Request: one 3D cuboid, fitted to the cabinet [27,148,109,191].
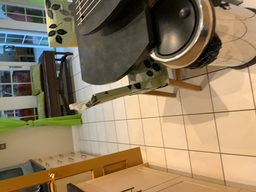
[{"bbox_3d":[-0.960,1.230,3.270,1.090,0.870,0.600,-14,82,55],"label":"cabinet"}]

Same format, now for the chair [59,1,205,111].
[{"bbox_3d":[0.050,-0.240,1.580,0.450,0.930,0.560,-16,81,55],"label":"chair"}]
